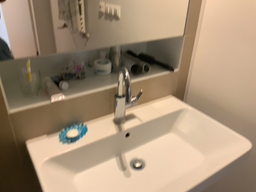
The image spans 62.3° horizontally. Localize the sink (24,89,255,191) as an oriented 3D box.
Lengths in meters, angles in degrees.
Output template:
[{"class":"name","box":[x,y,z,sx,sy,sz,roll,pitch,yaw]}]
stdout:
[{"class":"sink","box":[0.070,0.220,0.840,0.780,0.140,0.480,-16,34,-30]}]
